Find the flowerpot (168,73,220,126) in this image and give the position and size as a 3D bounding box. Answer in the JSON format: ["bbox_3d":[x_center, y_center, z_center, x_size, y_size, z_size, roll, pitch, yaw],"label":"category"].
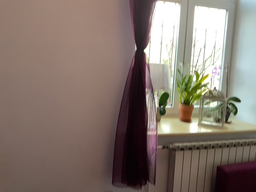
[{"bbox_3d":[0.720,0.030,2.380,0.430,0.550,0.310,1,8,-9],"label":"flowerpot"}]
